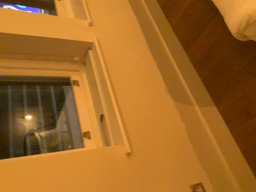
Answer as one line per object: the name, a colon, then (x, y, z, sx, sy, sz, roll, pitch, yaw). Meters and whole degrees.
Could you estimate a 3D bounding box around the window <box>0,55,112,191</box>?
window: (-0.680, 0.100, 1.100, 0.080, 1.080, 0.770, -53, 47, 47)
